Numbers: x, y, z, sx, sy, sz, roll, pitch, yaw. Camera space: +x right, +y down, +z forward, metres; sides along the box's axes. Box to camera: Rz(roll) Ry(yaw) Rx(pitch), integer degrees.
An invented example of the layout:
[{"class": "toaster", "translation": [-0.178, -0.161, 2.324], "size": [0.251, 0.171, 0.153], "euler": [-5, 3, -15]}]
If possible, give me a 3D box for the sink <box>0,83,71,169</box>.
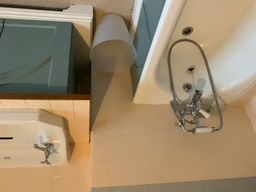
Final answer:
[{"class": "sink", "translation": [-0.650, 0.180, 1.100], "size": [0.640, 0.270, 0.480], "euler": [0, 148, -10]}]
